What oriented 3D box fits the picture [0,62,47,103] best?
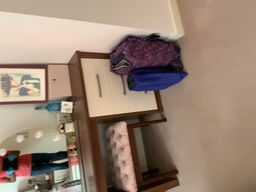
[{"bbox_3d":[-0.900,-0.120,1.770,0.110,0.380,0.320,10,102,57],"label":"picture"}]
